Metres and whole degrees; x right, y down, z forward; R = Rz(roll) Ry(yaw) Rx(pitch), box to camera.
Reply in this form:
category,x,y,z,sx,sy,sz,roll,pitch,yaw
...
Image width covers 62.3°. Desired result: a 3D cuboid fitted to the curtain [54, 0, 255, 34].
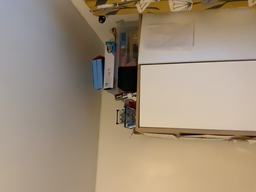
category,x,y,z,sx,sy,sz,roll,pitch,yaw
curtain,0.360,-0.560,1.220,0.320,1.560,0.100,48,-138,-68
